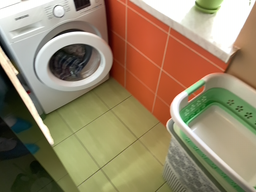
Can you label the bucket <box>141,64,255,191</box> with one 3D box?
[{"bbox_3d":[0.410,0.340,1.070,0.390,0.760,0.510,-34,61,-24],"label":"bucket"}]
